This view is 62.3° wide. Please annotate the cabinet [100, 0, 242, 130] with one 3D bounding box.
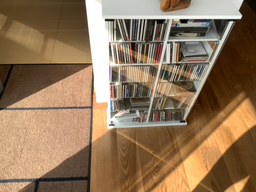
[{"bbox_3d":[0.150,-0.130,1.260,0.590,0.870,0.210,-3,51,-6],"label":"cabinet"}]
